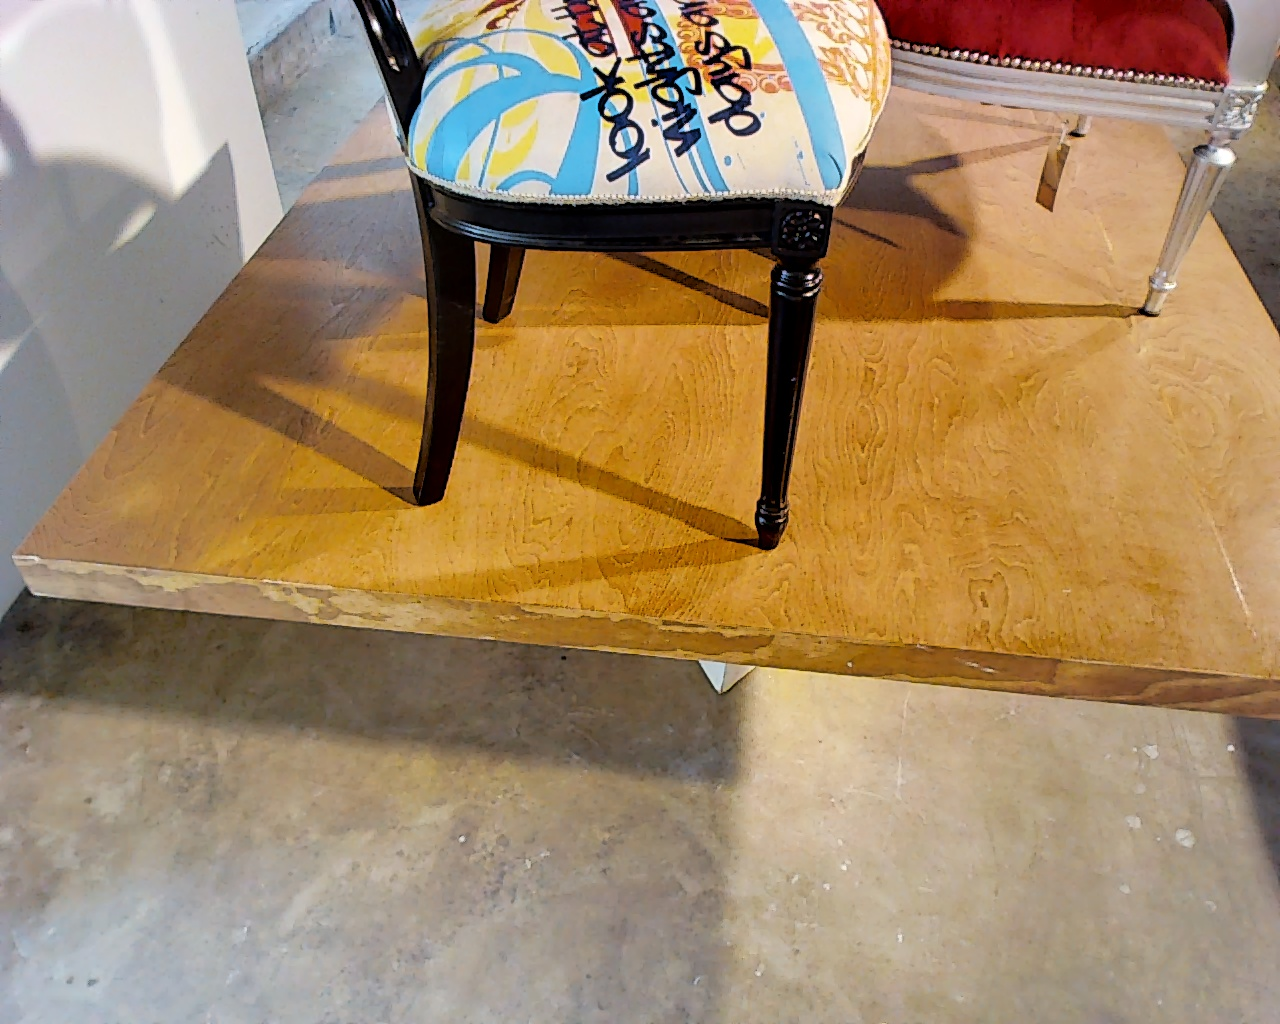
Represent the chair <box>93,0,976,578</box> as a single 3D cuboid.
[{"bbox_3d":[-0.050,-0.480,0.950,0.600,0.900,0.540,6,43,5],"label":"chair"}]
